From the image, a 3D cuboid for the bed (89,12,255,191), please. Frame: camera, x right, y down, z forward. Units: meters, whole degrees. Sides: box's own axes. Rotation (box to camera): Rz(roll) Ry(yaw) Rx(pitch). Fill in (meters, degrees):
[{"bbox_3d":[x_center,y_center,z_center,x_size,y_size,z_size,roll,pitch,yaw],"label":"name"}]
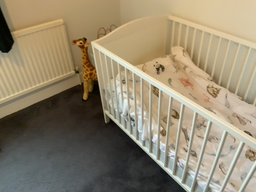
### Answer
[{"bbox_3d":[0.480,0.100,1.420,0.730,0.790,1.480,-27,45,-27],"label":"bed"}]
